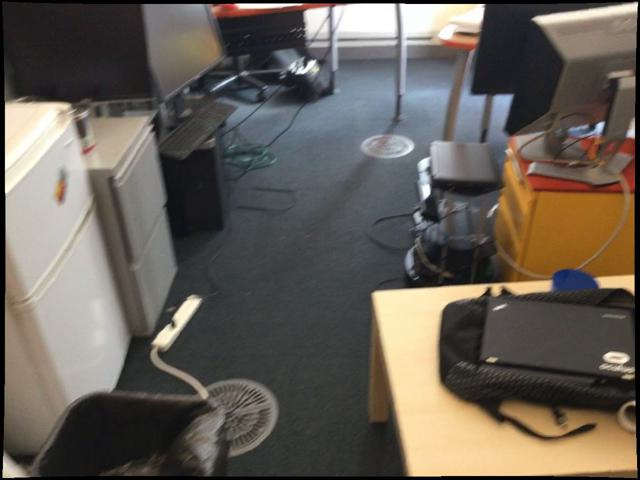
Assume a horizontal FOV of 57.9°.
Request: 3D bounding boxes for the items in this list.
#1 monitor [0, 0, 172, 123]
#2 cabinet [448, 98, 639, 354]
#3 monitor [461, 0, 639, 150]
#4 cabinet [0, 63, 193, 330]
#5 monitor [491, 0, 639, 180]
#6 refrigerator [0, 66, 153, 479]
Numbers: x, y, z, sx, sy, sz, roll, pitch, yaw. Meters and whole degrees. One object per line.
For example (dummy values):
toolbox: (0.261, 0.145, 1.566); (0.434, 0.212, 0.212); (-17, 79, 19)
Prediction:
monitor: (-0.789, -0.611, 1.910); (0.509, 0.370, 0.210); (1, 34, -1)
cabinet: (1.169, -0.050, 2.090); (1.199, 0.710, 0.570); (1, 34, -1)
monitor: (0.749, -0.541, 1.860); (0.480, 0.450, 0.180); (1, 34, -1)
cabinet: (-0.859, -0.150, 1.960); (0.689, 0.720, 0.530); (1, 34, -1)
monitor: (0.879, -0.450, 1.760); (0.569, 0.480, 0.220); (1, 34, -1)
refrigerator: (-0.859, 0.100, 1.550); (0.559, 0.961, 0.560); (1, 34, -1)
